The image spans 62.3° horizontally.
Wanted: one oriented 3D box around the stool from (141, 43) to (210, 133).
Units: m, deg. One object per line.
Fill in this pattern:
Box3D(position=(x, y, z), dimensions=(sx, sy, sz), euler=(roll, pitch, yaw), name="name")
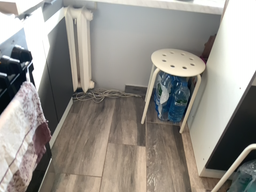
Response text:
Box3D(position=(0.270, -0.050, 1.380), dimensions=(0.310, 0.450, 0.320), euler=(6, 39, 0), name="stool")
